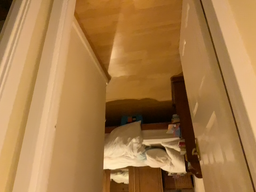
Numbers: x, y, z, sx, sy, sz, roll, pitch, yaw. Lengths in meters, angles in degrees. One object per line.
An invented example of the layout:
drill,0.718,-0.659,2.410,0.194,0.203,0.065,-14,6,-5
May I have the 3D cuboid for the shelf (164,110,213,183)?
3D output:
shelf,0.630,0.590,2.340,0.370,0.610,0.680,-7,151,10
